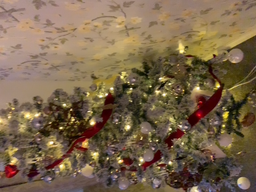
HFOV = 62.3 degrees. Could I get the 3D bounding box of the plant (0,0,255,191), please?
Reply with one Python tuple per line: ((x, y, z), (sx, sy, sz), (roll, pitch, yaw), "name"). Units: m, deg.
((-0.160, 0.180, 1.150), (0.840, 1.890, 0.840), (-32, 64, 56), "plant")
